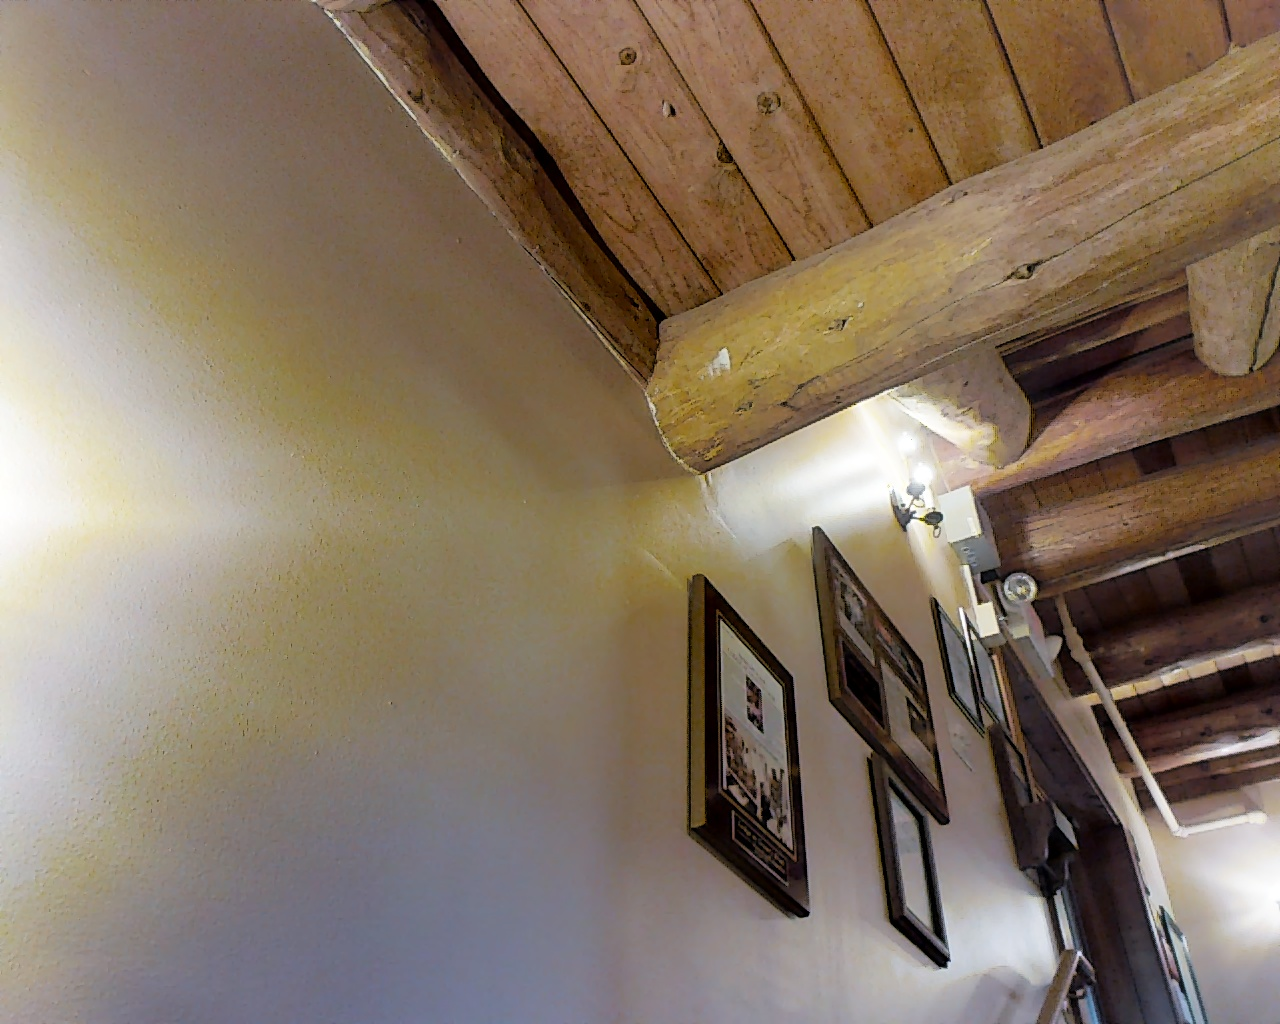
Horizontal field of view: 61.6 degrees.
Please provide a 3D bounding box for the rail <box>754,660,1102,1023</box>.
[{"bbox_3d":[0.650,1.081,1.890,0.110,0.990,1.620,-22,-46,24],"label":"rail"}]
